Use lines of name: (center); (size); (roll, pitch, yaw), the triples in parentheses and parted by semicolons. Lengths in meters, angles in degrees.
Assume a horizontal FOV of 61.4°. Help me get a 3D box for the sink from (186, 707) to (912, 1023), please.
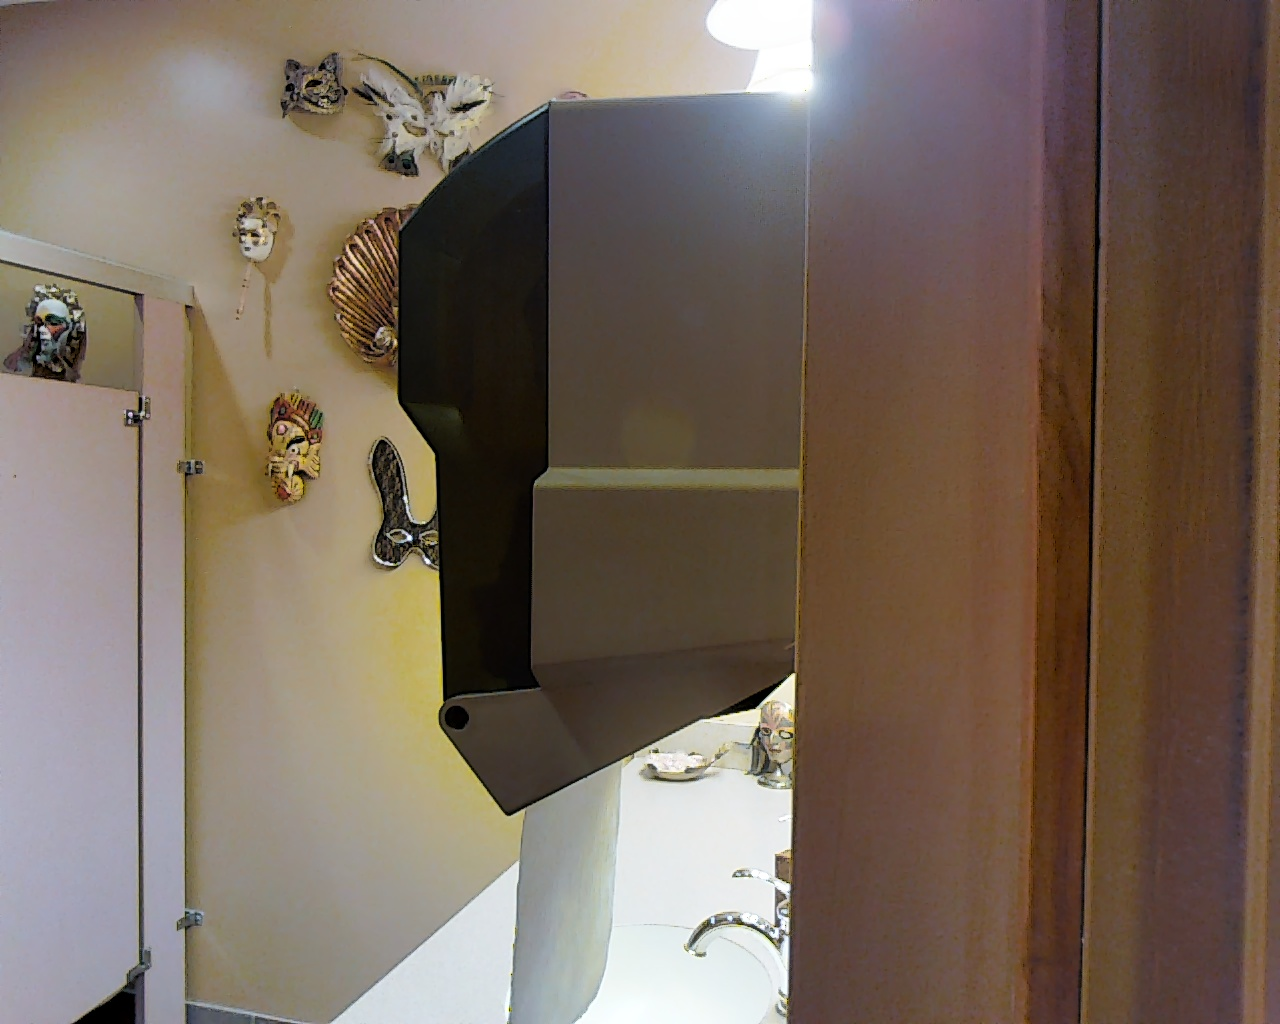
sink: (0.070, 0.590, 1.690); (0.640, 0.260, 1.510); (1, 0, 16)
